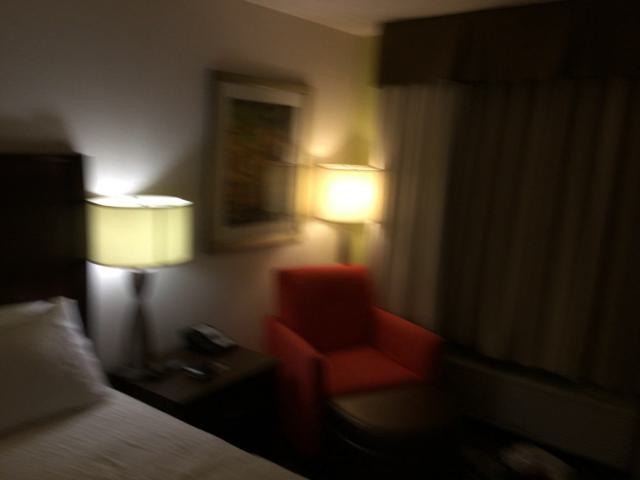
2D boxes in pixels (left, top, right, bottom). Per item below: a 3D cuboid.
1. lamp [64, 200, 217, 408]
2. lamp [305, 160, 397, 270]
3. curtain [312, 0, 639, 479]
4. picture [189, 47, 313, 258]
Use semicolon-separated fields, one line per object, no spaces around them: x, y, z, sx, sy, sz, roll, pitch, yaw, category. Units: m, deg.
-0.740;0.220;2.400;0.430;0.750;0.420;6;7;35;lamp
0.180;-0.160;3.370;0.380;0.590;0.360;6;7;35;lamp
1.190;0.040;2.670;2.410;2.310;0.720;6;7;35;curtain
-0.340;-0.430;3.070;0.110;0.980;0.820;6;7;35;picture
